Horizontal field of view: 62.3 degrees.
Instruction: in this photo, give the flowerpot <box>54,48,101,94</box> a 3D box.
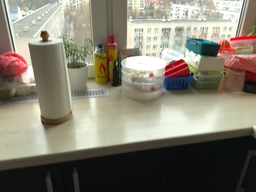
[{"bbox_3d":[-0.230,-0.120,1.000,0.190,0.180,0.120,-4,26,-11],"label":"flowerpot"}]
